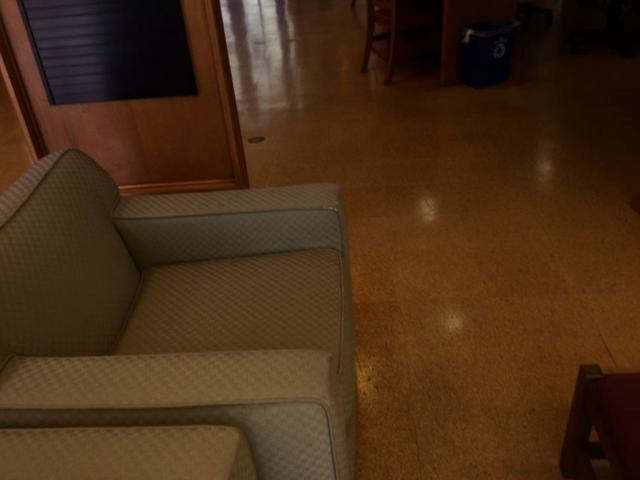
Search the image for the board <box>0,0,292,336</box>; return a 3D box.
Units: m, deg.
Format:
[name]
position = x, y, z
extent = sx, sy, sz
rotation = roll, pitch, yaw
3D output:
[board]
position = -0.610, -0.530, 1.720
extent = 0.680, 1.840, 0.160
rotation = -8, 28, 7
